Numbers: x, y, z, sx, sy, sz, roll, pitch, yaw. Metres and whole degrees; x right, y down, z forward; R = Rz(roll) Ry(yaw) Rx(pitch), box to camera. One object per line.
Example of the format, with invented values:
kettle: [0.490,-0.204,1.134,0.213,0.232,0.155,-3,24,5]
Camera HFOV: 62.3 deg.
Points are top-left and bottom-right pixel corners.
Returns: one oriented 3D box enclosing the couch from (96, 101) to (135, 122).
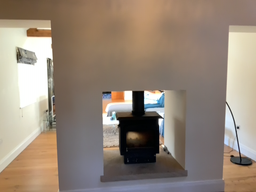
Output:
couch: [-0.490,0.510,7.570,1.260,0.500,1.340,-1,6,-8]
